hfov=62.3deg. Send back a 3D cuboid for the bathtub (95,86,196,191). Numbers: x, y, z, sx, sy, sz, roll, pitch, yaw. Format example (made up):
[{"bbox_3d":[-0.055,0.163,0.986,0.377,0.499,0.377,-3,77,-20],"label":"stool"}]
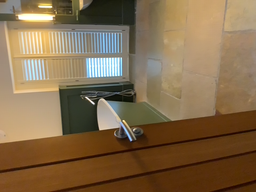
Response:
[{"bbox_3d":[0.050,0.430,2.800,1.760,0.660,0.730,-141,49,-66],"label":"bathtub"}]
